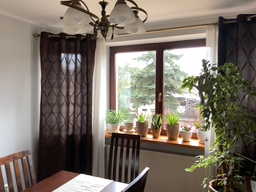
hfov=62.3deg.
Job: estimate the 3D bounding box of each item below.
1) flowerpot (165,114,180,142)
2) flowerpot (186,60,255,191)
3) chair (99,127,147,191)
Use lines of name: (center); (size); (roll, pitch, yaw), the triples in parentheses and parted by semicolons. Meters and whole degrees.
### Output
flowerpot: (0.640, 0.450, 3.060); (0.190, 0.350, 0.240); (1, 3, 9)
flowerpot: (0.920, 0.630, 2.080); (0.620, 1.880, 0.340); (-2, 3, -32)
chair: (-0.040, 0.980, 2.810); (0.560, 1.020, 0.490); (1, 3, 9)
